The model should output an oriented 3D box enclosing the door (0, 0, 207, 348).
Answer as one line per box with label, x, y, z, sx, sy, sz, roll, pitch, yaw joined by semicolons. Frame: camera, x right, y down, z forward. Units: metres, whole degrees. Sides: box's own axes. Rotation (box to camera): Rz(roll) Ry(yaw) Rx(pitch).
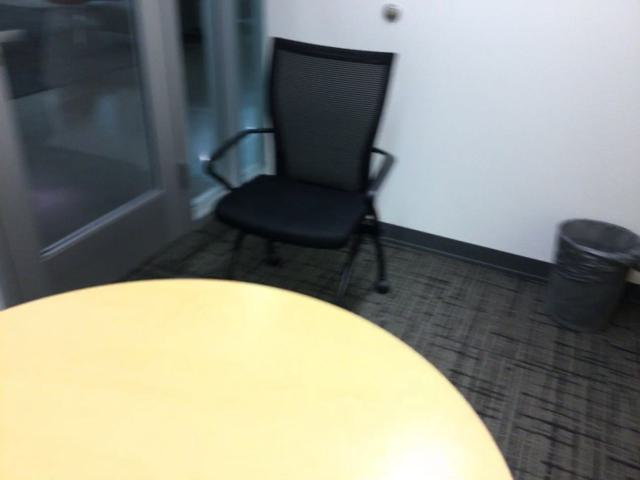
door;-0.770;-0.560;1.940;0.140;1.620;0.910;13;30;23
